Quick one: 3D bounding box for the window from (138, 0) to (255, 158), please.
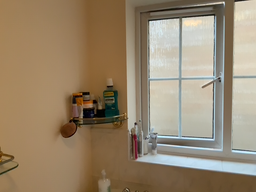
[{"bbox_3d":[0.630,-0.110,1.310,1.180,0.950,0.050,1,4,21],"label":"window"}]

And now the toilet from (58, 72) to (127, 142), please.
[{"bbox_3d":[-0.180,0.040,1.180,0.250,0.330,0.310,1,4,20],"label":"toilet"}]
